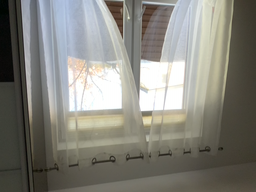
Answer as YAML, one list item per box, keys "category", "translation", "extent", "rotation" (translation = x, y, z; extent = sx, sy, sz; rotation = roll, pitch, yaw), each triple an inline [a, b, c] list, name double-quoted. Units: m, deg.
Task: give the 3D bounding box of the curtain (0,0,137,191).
- category: "curtain"
  translation: [-0.430, -0.330, 1.620]
  extent: [0.950, 2.430, 0.240]
  rotation: [-2, -169, -17]

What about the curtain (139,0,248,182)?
- category: "curtain"
  translation: [0.570, -0.390, 1.930]
  extent: [0.800, 2.250, 0.350]
  rotation: [-2, -169, -16]
